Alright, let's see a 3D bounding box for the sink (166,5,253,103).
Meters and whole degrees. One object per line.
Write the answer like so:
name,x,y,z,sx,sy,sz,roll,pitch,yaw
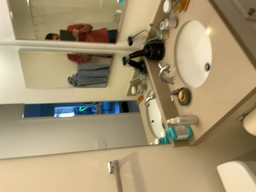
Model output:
sink,0.440,-0.240,1.270,0.370,0.190,0.430,111,153,-51
